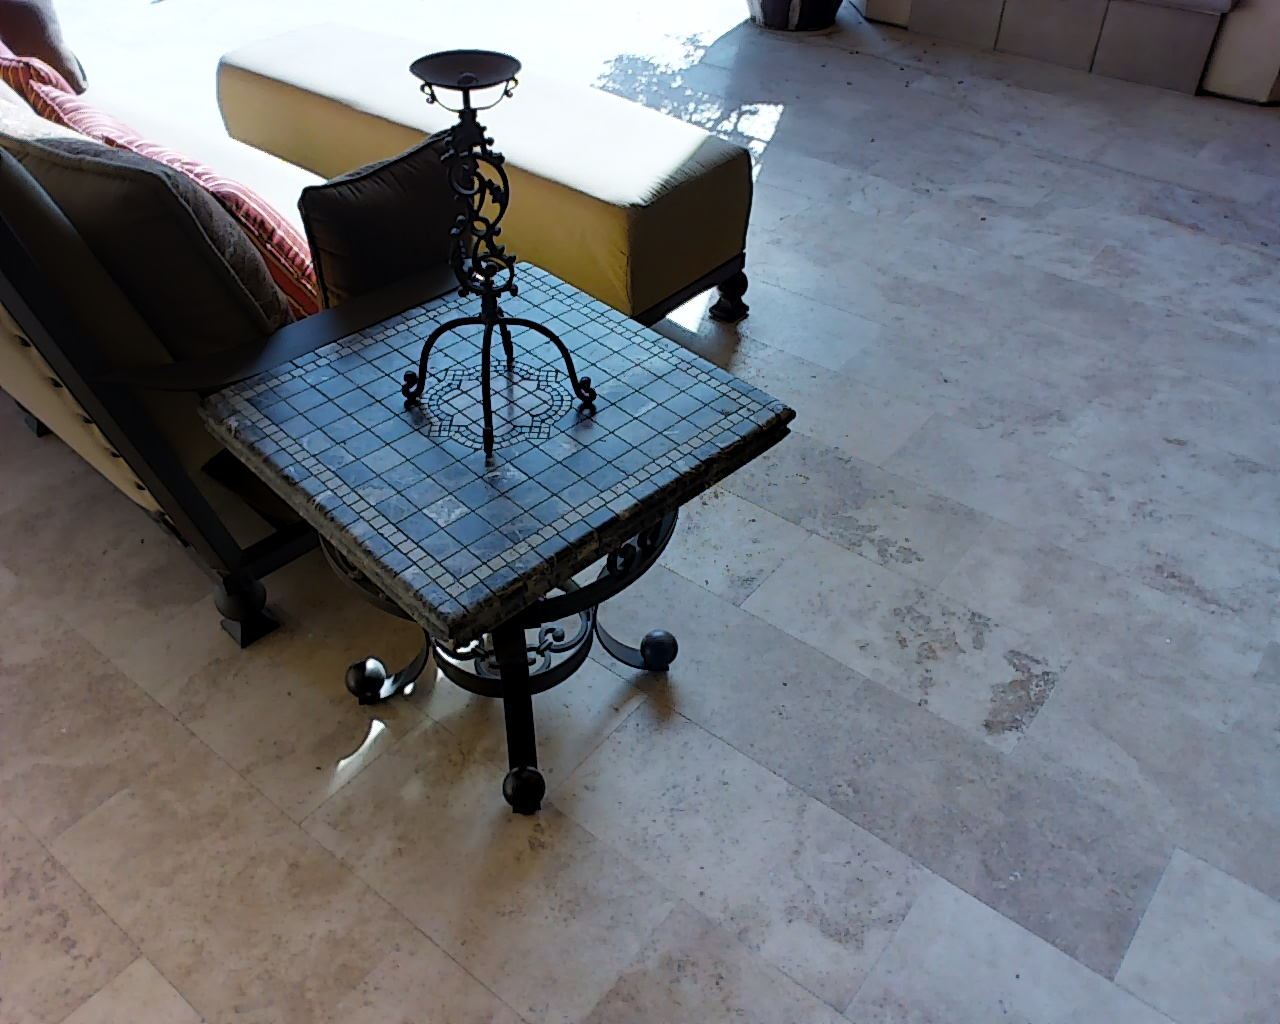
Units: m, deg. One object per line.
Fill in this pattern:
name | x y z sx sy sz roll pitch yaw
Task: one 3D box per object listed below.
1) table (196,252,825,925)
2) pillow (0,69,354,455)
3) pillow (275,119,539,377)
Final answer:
table | -0.200 0.090 1.890 0.700 0.700 0.680 -33 50 -32
pillow | -0.760 -0.420 1.760 0.410 0.430 0.360 -19 44 -21
pillow | -0.420 -0.510 2.030 0.230 0.290 0.420 23 46 24
